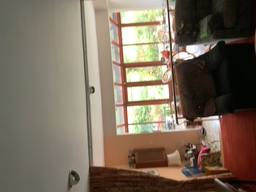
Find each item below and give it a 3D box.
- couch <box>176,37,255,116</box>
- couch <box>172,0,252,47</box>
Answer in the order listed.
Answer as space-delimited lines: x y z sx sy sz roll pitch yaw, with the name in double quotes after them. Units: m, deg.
1.230 -0.220 3.130 0.920 0.740 0.920 98 168 -82 "couch"
1.150 -1.340 3.110 0.990 0.740 1.060 -110 16 -84 "couch"
